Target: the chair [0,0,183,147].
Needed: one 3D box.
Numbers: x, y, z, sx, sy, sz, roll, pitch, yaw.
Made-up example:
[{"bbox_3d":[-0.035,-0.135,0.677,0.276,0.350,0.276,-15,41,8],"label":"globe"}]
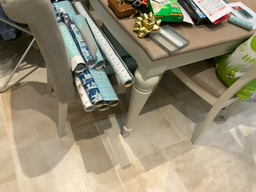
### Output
[{"bbox_3d":[-0.240,-0.200,1.130,0.610,0.910,0.450,-11,56,-20],"label":"chair"}]
